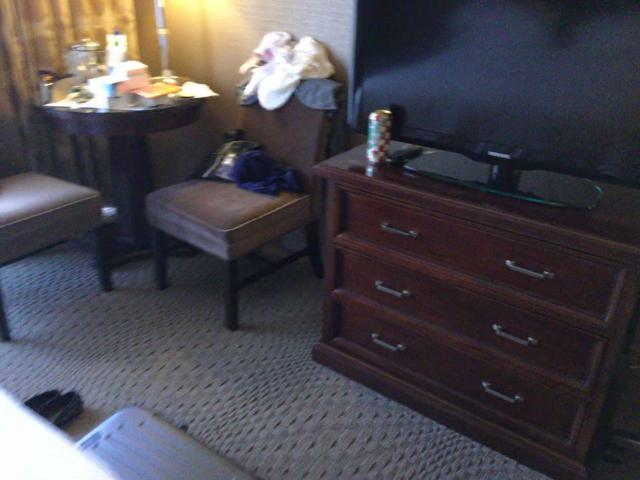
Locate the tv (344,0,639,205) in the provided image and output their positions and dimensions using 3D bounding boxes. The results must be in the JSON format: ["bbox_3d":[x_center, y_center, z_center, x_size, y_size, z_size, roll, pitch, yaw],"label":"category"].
[{"bbox_3d":[0.540,-0.500,1.560,0.990,0.630,0.160,18,28,31],"label":"tv"}]
